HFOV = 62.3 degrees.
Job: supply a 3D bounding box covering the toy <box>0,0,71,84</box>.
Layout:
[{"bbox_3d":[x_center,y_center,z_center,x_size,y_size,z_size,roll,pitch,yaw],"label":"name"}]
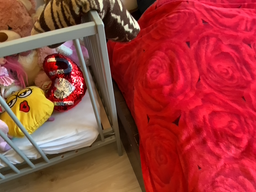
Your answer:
[{"bbox_3d":[-0.530,-0.340,1.020,0.360,0.420,0.260,-18,51,-12],"label":"toy"}]
